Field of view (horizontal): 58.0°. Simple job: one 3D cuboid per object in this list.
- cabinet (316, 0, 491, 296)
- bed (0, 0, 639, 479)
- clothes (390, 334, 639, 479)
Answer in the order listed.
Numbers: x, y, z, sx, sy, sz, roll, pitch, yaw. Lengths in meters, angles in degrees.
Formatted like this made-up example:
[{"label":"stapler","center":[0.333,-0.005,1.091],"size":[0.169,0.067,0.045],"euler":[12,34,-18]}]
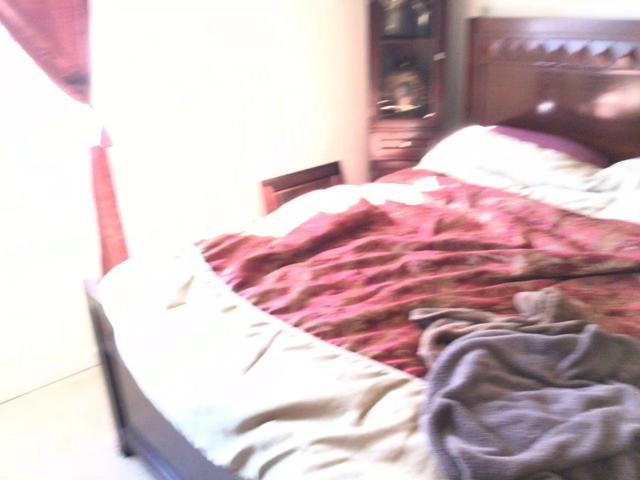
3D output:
[{"label":"cabinet","center":[0.430,-0.640,3.040],"size":[0.600,1.660,0.600],"euler":[-22,30,-37]},{"label":"bed","center":[0.520,0.030,1.860],"size":[2.260,1.400,1.850],"euler":[-22,30,-37]},{"label":"clothes","center":[0.370,0.330,0.950],"size":[0.470,0.080,0.260],"euler":[-22,30,-37]}]
